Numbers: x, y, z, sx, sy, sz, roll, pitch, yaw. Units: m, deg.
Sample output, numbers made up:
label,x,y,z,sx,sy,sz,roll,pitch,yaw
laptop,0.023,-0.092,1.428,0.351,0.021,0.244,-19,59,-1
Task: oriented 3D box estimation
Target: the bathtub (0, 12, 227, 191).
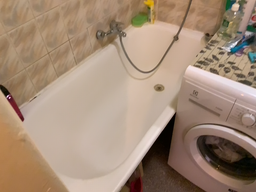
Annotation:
label,x,y,z,sx,sy,sz,roll,pitch,yaw
bathtub,0.020,0.060,1.480,0.680,0.600,1.420,27,53,25
